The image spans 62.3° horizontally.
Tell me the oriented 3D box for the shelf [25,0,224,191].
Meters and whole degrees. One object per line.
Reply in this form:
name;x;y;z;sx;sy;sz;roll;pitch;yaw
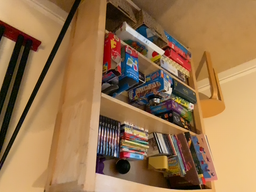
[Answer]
shelf;0.060;0.030;1.320;0.990;1.140;0.420;24;144;-38
